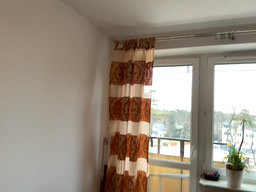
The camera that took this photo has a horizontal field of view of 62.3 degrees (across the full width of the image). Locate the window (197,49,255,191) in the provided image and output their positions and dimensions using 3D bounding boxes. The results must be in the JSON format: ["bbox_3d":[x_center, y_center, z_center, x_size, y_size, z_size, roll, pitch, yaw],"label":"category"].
[{"bbox_3d":[1.530,0.310,2.220,1.480,1.620,0.120,2,-4,20],"label":"window"}]
